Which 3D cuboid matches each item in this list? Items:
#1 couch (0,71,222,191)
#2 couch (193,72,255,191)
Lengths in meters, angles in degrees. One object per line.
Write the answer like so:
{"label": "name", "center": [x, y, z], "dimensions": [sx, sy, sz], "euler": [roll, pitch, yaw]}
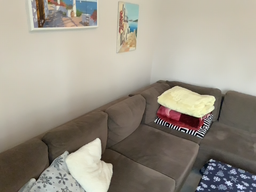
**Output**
{"label": "couch", "center": [-0.060, 0.520, 2.000], "dimensions": [1.110, 0.820, 3.160], "euler": [16, 23, 29]}
{"label": "couch", "center": [1.320, 0.370, 2.410], "dimensions": [0.720, 1.020, 0.940], "euler": [16, 23, 29]}
